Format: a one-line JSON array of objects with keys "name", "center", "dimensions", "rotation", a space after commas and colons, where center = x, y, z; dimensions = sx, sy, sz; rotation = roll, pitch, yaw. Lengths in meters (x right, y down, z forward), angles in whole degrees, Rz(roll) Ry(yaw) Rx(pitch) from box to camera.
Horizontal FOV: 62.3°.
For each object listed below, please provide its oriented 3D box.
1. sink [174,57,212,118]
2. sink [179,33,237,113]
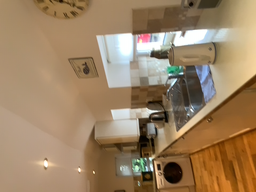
[{"name": "sink", "center": [0.580, -0.080, 1.940], "dimensions": [0.180, 0.200, 0.510], "rotation": [92, 173, -70]}, {"name": "sink", "center": [0.600, -0.170, 1.690], "dimensions": [0.360, 0.230, 0.510], "rotation": [92, 173, -70]}]
